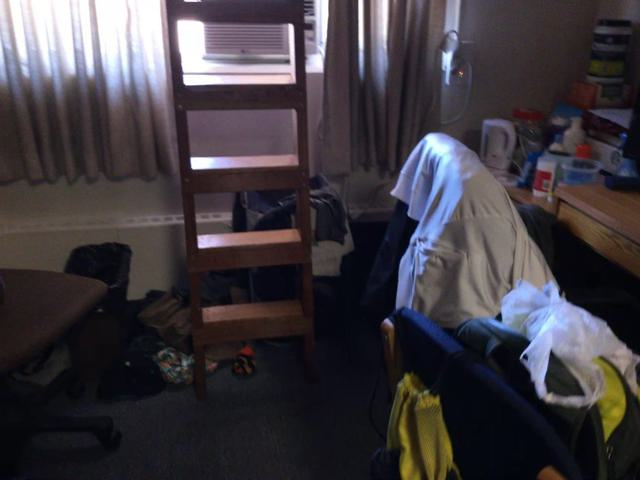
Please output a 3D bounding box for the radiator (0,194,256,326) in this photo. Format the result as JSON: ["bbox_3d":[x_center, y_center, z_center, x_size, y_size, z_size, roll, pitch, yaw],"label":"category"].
[{"bbox_3d":[-0.850,0.080,2.410,1.140,0.480,0.120,-3,23,-10],"label":"radiator"}]

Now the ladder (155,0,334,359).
[{"bbox_3d":[-0.240,-0.310,1.930,0.500,1.420,0.300,-3,23,-10],"label":"ladder"}]
